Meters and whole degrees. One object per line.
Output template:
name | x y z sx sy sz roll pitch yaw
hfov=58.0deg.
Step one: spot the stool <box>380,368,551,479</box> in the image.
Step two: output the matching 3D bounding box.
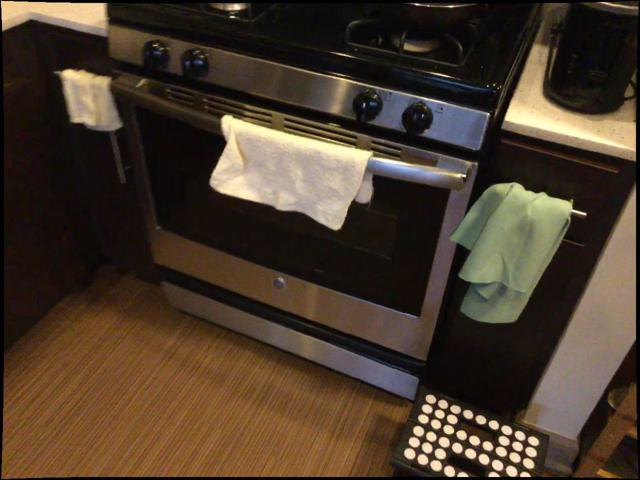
stool | 0.309 0.491 1.270 0.309 0.220 0.250 14 43 14
